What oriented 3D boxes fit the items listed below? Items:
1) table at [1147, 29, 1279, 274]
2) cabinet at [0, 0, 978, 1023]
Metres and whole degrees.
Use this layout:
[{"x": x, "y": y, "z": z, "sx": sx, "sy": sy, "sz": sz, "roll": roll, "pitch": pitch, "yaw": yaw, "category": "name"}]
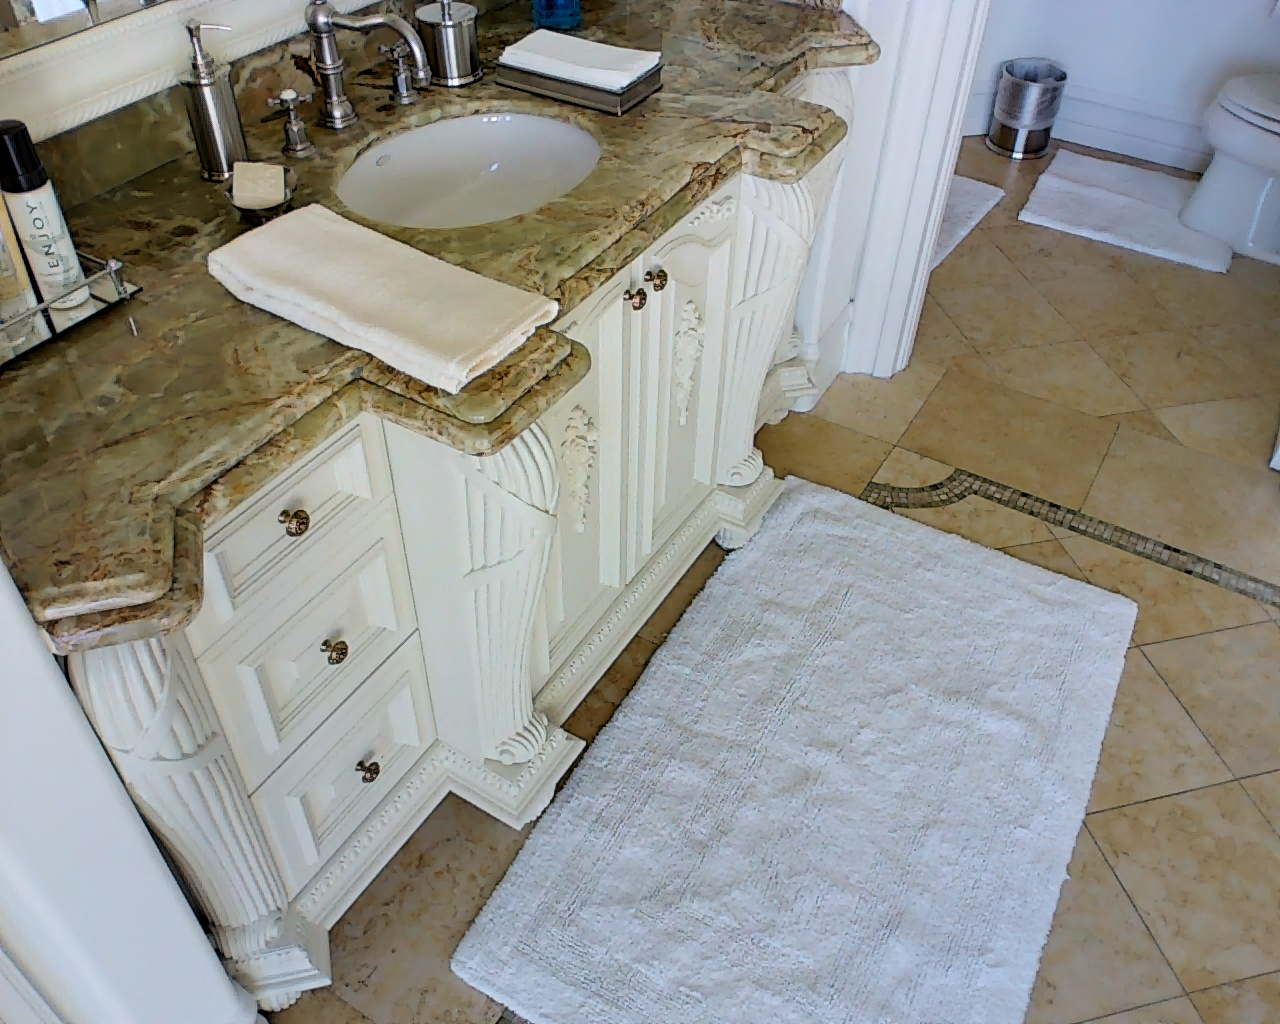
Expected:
[{"x": 1.920, "y": -1.070, "z": 3.200, "sx": 0.520, "sy": 0.430, "sz": 0.640, "roll": 23, "pitch": 47, "yaw": 22, "category": "table"}, {"x": -0.200, "y": -0.170, "z": 1.810, "sx": 0.760, "sy": 0.990, "sz": 1.800, "roll": 23, "pitch": 47, "yaw": 22, "category": "cabinet"}]
